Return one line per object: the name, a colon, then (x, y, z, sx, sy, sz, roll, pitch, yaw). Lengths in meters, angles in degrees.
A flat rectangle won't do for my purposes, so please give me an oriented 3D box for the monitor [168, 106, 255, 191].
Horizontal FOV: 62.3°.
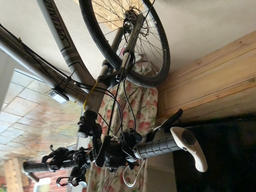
monitor: (0.890, 0.420, 1.560, 1.140, 0.700, 0.050, -12, 149, 22)
